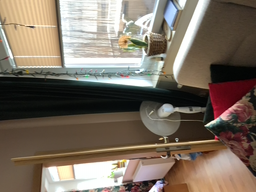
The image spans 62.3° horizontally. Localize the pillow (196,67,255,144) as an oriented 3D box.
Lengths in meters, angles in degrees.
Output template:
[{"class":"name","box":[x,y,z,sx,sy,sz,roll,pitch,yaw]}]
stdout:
[{"class":"pillow","box":[0.750,0.050,1.380,0.250,0.400,0.420,103,161,-49]}]
